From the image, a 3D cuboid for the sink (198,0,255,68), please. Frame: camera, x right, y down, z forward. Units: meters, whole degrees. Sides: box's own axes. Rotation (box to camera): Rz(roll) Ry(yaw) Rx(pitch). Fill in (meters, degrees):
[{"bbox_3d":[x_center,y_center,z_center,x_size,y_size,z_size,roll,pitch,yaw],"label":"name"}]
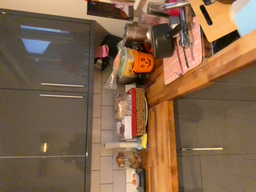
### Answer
[{"bbox_3d":[0.420,-0.360,0.830,0.240,0.160,0.430,140,131,-71],"label":"sink"}]
